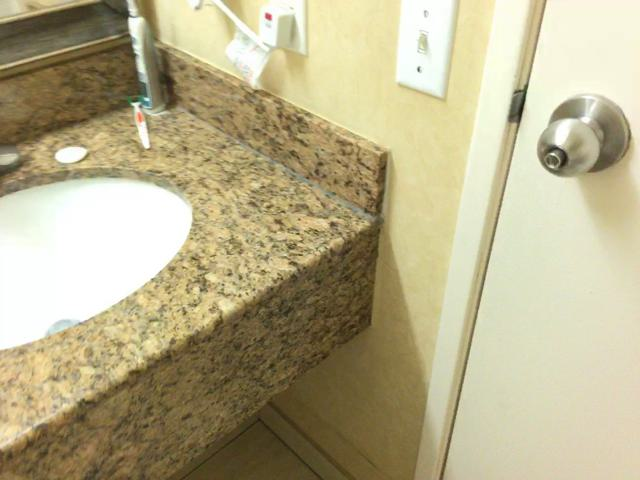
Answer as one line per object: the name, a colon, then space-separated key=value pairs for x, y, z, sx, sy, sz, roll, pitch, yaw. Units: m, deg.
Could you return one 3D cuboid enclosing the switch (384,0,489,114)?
switch: x=0.120 y=-0.210 z=0.620 sx=0.020 sy=0.120 sz=0.110 roll=-30 pitch=45 yaw=-34
